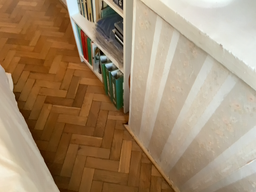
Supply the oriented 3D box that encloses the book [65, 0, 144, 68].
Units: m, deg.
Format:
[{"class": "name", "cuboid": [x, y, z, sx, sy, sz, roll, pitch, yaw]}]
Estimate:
[{"class": "book", "cuboid": [-0.150, -0.430, 1.130, 0.150, 0.250, 0.530, -31, 63, -20]}]
